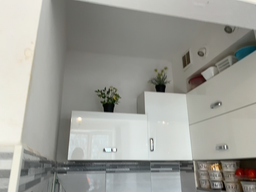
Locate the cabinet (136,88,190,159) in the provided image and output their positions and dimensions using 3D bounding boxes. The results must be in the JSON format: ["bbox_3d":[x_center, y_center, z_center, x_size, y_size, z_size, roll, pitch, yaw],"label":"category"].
[{"bbox_3d":[0.290,0.260,1.910,0.380,0.590,0.260,4,-18,-13],"label":"cabinet"}]
